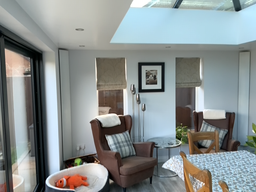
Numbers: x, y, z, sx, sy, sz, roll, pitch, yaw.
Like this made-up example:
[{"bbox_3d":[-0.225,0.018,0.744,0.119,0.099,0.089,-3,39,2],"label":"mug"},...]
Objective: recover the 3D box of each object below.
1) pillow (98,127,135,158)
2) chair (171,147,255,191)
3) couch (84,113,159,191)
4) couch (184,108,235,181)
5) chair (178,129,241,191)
[{"bbox_3d":[-0.180,0.770,3.480,0.470,0.380,0.220,25,2,-44],"label":"pillow"},{"bbox_3d":[0.690,0.990,1.830,0.490,0.940,0.430,-2,6,-12],"label":"chair"},{"bbox_3d":[-0.120,0.860,3.390,0.780,0.980,0.930,-5,7,-38],"label":"couch"},{"bbox_3d":[1.440,0.790,3.830,0.740,0.990,0.930,1,6,20],"label":"couch"},{"bbox_3d":[0.940,0.930,2.550,0.470,0.930,0.530,-1,5,-11],"label":"chair"}]
